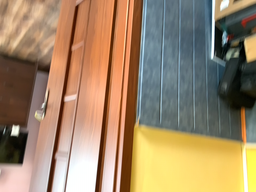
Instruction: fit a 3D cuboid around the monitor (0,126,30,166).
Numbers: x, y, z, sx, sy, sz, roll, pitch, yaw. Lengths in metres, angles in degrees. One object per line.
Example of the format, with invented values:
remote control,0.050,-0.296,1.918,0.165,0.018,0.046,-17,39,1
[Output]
monitor,-2.090,0.790,3.380,0.860,0.610,0.070,11,164,-28
